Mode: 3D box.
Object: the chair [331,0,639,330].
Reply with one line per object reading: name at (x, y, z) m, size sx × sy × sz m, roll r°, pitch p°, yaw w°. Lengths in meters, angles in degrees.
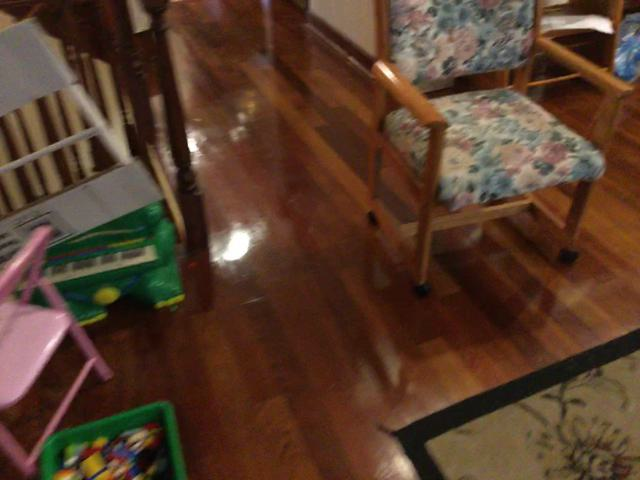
chair at (0.470, -0.320, 1.750) m, size 0.650 × 0.810 × 0.610 m, roll -17°, pitch 38°, yaw -19°
